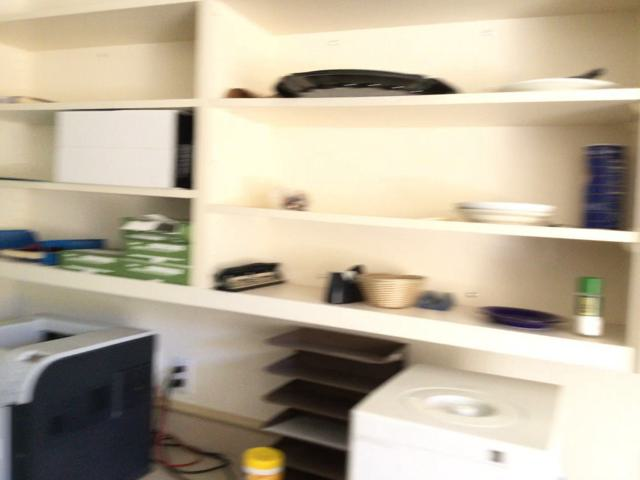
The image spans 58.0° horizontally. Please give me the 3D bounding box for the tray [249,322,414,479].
[{"bbox_3d":[0.030,0.480,1.480,0.320,0.460,0.250,6,4,25],"label":"tray"}]

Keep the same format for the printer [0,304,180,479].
[{"bbox_3d":[-0.730,0.430,1.520,0.470,0.400,0.500,6,4,25],"label":"printer"}]
